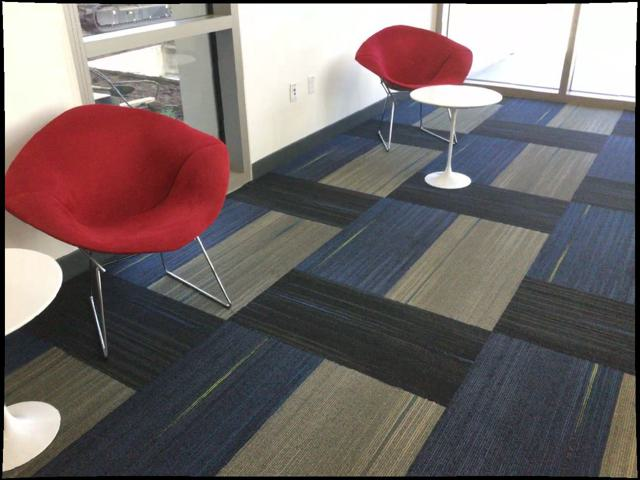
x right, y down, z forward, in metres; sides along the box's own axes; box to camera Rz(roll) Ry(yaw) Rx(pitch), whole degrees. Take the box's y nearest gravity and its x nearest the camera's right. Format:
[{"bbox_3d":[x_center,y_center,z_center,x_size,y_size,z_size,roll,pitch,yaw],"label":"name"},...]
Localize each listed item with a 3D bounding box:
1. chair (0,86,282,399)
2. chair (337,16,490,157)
[{"bbox_3d":[-0.768,-0.080,2.280,0.819,0.751,0.849,24,39,39],"label":"chair"},{"bbox_3d":[0.608,-1.113,4.060,0.778,0.721,0.820,-9,30,-10],"label":"chair"}]
